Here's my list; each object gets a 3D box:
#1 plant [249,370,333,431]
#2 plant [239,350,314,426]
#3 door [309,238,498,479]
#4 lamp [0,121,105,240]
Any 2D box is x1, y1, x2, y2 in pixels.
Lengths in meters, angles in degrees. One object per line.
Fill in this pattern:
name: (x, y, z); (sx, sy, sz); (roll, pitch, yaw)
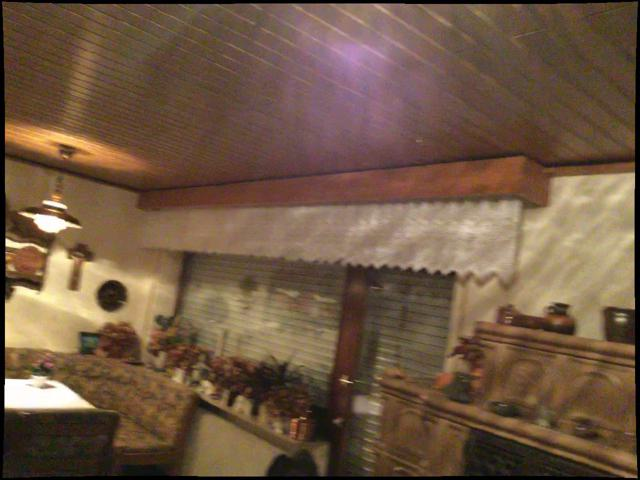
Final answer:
plant: (-0.190, 1.021, 3.710); (0.330, 0.280, 0.400); (13, -6, -40)
plant: (-0.290, 0.971, 3.830); (0.300, 0.410, 0.340); (13, -6, -40)
door: (0.390, 1.001, 3.210); (0.210, 1.992, 0.960); (13, -6, -40)
lamp: (-2.248, -0.460, 4.750); (0.630, 0.811, 0.510); (13, -6, -42)
